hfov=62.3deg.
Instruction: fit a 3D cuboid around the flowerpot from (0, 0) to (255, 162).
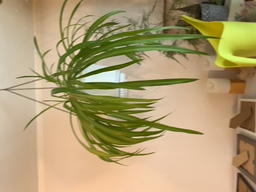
[{"bbox_3d":[0.110,-0.110,0.890,0.630,0.890,0.480,-51,-39,-78],"label":"flowerpot"}]
